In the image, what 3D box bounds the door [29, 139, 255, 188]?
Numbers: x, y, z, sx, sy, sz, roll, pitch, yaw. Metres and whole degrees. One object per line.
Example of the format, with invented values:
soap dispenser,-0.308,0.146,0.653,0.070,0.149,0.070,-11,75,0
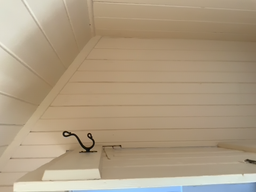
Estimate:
door,0.630,0.260,1.010,0.730,1.860,0.040,132,137,-80
